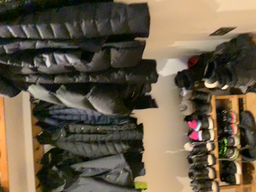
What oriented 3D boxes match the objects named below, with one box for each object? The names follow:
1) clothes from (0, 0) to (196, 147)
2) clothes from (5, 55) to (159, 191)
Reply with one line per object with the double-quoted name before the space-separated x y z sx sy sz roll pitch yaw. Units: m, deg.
"clothes" -0.340 -0.080 1.200 1.320 0.920 0.410 -179 86 -85
"clothes" -0.300 0.410 1.670 0.450 0.970 1.350 -167 73 -85
